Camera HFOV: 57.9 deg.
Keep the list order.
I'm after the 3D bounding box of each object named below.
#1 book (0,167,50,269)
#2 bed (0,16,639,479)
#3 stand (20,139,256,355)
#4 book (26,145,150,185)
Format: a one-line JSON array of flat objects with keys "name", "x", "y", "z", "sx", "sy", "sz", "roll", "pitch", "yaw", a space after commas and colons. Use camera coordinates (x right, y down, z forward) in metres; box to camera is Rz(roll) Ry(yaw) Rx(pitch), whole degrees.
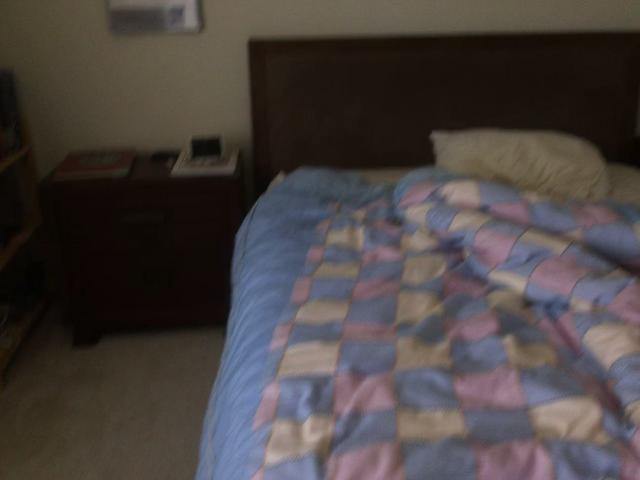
[{"name": "book", "x": -1.230, "y": -0.060, "z": 2.080, "sx": 0.220, "sy": 0.250, "sz": 0.620, "roll": -3, "pitch": 21, "yaw": -2}, {"name": "bed", "x": 0.570, "y": 0.080, "z": 1.530, "sx": 1.760, "sy": 1.200, "sz": 2.120, "roll": -3, "pitch": 21, "yaw": -2}, {"name": "stand", "x": -0.650, "y": 0.010, "z": 2.290, "sx": 0.710, "sy": 0.700, "sz": 0.460, "roll": -3, "pitch": 21, "yaw": -2}, {"name": "book", "x": -0.860, "y": -0.290, "z": 2.190, "sx": 0.340, "sy": 0.050, "sz": 0.360, "roll": -3, "pitch": 21, "yaw": -2}]
